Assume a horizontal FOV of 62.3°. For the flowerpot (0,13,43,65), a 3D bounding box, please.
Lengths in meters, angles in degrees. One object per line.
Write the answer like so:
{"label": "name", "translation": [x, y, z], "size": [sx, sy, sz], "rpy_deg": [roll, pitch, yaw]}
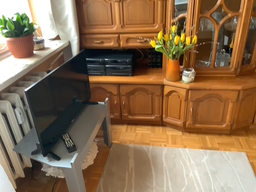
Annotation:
{"label": "flowerpot", "translation": [-0.830, -0.440, 1.610], "size": [0.190, 0.320, 0.270], "rpy_deg": [-1, 29, 3]}
